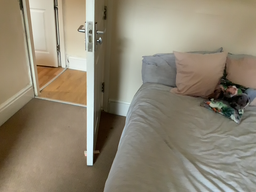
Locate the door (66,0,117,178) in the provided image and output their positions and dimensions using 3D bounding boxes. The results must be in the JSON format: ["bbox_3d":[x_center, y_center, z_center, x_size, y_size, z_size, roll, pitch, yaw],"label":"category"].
[{"bbox_3d":[-0.210,-0.590,1.570,0.170,2.180,1.110,6,30,-2],"label":"door"}]

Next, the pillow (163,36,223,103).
[{"bbox_3d":[0.500,-0.200,1.640,0.330,0.190,0.390,18,70,1],"label":"pillow"}]
